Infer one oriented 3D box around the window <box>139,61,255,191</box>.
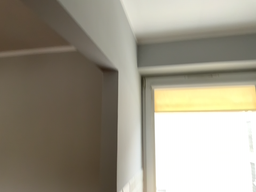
[{"bbox_3d":[0.700,0.530,2.010,1.180,1.700,0.110,-2,-11,10],"label":"window"}]
